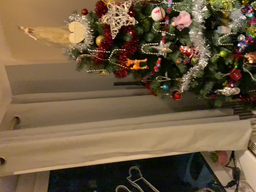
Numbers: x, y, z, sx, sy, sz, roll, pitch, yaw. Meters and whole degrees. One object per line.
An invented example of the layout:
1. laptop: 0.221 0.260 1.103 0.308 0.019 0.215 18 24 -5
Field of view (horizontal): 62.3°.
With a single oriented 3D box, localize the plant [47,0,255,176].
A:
1. plant: 0.480 -0.350 1.320 1.020 1.680 0.920 -112 21 -57
